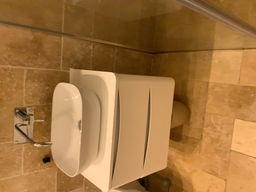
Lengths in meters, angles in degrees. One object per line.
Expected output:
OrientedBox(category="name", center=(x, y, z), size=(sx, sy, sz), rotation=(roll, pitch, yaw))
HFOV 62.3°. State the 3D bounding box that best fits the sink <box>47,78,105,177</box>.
OrientedBox(category="sink", center=(-0.300, 0.140, 1.160), size=(0.380, 0.120, 0.440), rotation=(12, 100, 47))
